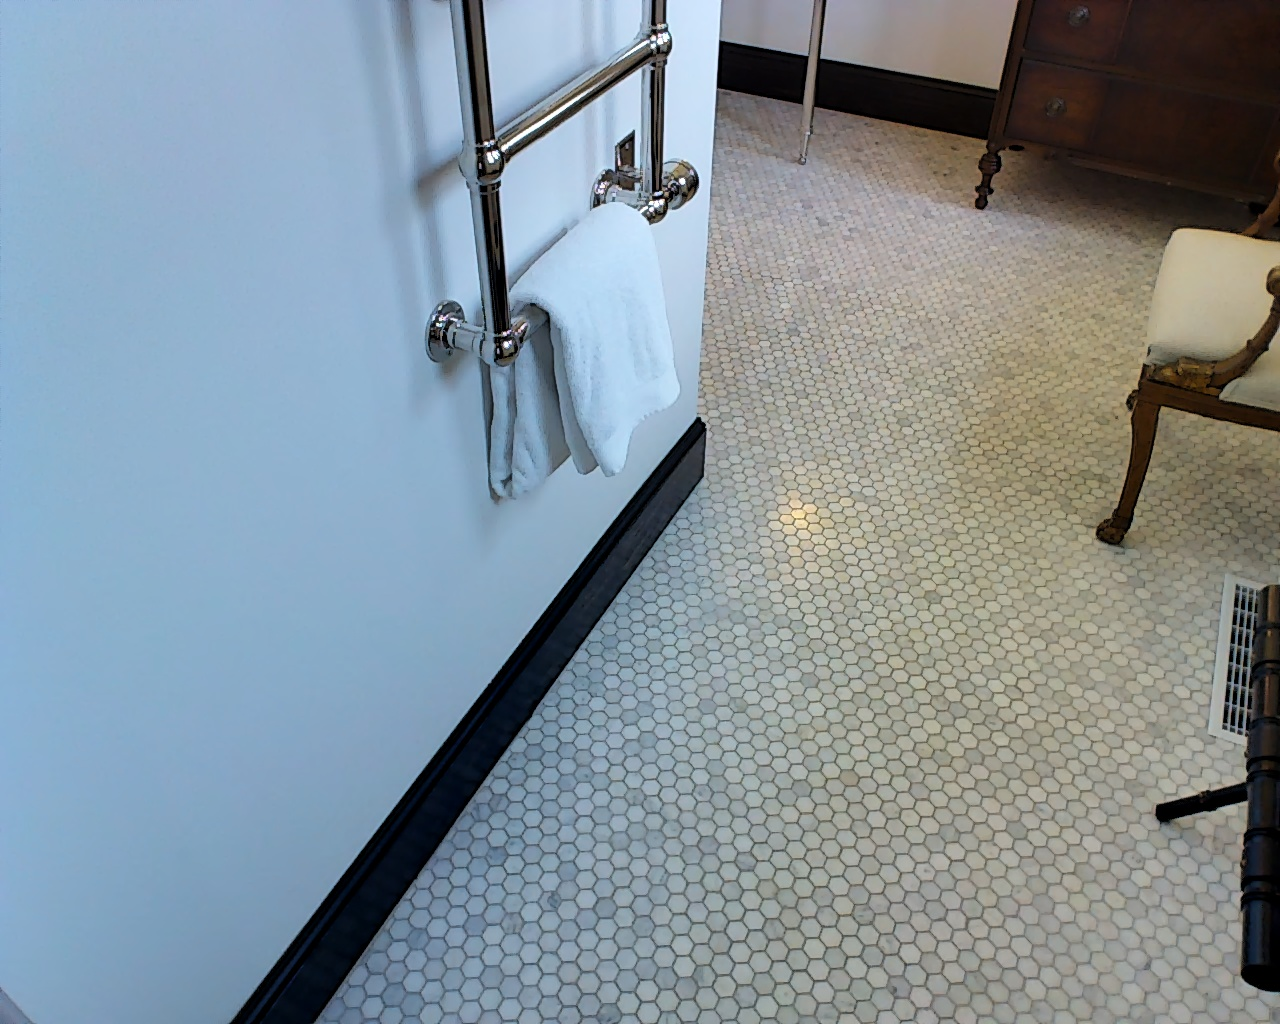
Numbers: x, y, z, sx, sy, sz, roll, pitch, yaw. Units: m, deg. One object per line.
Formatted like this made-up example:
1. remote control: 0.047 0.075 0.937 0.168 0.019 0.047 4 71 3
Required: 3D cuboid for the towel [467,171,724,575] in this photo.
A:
1. towel: -0.050 -0.190 1.490 0.210 0.430 0.290 18 45 19
